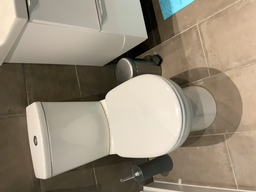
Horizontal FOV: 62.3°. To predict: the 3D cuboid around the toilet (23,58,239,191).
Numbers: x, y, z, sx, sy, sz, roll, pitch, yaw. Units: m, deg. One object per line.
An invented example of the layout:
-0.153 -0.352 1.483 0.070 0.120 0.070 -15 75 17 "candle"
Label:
0.010 0.120 1.060 0.670 0.780 0.370 -18 80 48 "toilet"
